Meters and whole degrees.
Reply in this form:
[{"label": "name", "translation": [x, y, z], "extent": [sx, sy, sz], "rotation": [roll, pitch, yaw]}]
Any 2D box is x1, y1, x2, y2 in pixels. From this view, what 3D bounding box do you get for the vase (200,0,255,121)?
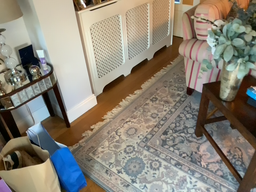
[{"label": "vase", "translation": [0.670, -0.220, 1.200], "extent": [0.260, 0.520, 0.450], "rotation": [-9, 37, -6]}]
